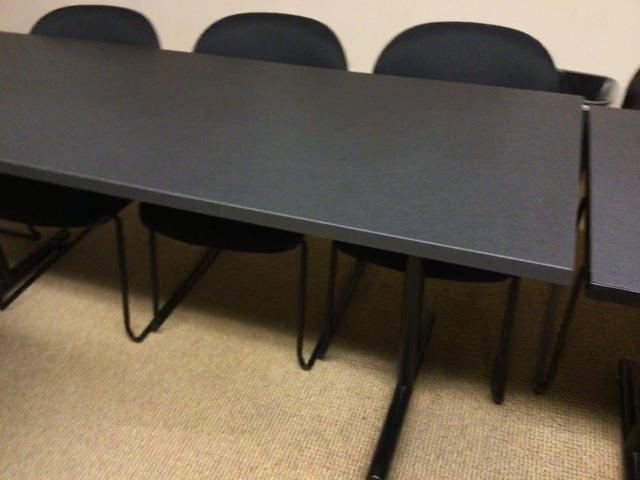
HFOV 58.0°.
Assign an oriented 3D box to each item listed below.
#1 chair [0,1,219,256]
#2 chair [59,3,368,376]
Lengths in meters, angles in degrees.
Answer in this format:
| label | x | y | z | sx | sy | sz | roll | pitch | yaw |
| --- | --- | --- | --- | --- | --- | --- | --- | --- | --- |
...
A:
| label | x | y | z | sx | sy | sz | roll | pitch | yaw |
| --- | --- | --- | --- | --- | --- | --- | --- | --- | --- |
| chair | -0.700 | -0.350 | 1.610 | 0.570 | 0.450 | 0.560 | 12 | 37 | 19 |
| chair | -0.210 | -0.160 | 1.590 | 0.520 | 0.790 | 0.540 | 12 | 37 | 19 |
